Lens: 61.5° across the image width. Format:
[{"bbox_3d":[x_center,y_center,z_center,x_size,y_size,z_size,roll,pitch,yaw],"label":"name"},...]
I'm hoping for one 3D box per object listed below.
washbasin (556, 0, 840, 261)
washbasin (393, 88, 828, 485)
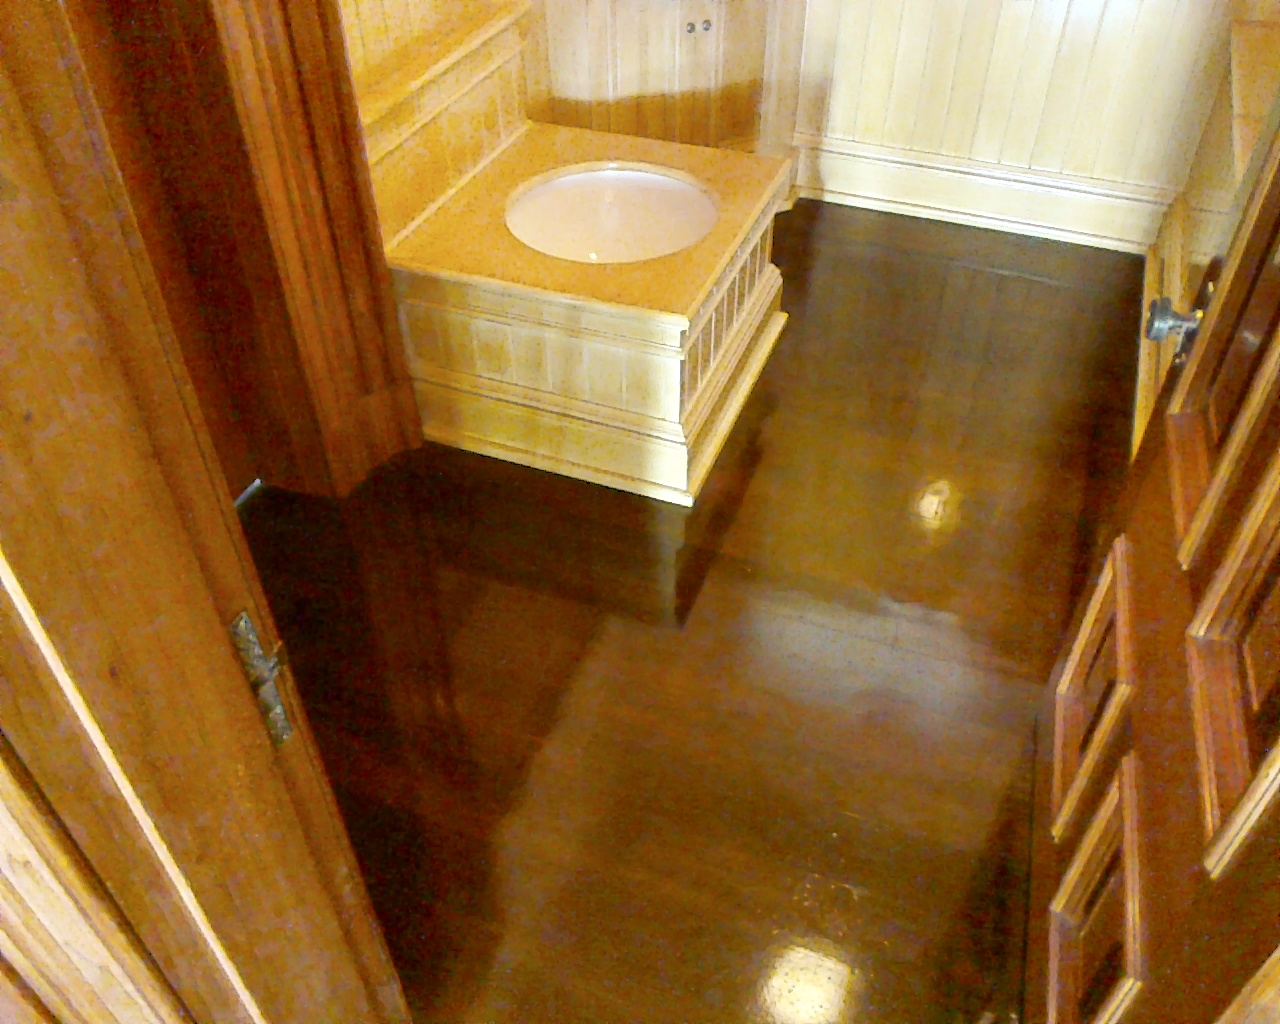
[{"bbox_3d":[0.180,-1.280,3.060,0.620,0.820,0.610,14,44,15],"label":"washbasin"},{"bbox_3d":[-0.030,-0.580,2.570,0.700,0.470,0.820,16,45,17],"label":"washbasin"}]
